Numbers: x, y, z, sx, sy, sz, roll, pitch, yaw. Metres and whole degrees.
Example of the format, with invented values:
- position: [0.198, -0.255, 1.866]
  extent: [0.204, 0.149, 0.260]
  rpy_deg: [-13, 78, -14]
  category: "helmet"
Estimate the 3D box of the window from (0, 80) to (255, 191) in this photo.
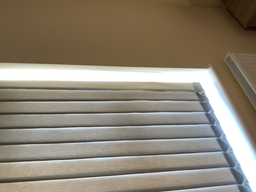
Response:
- position: [-0.070, 0.310, 0.820]
  extent: [0.020, 1.290, 0.970]
  rpy_deg: [104, 162, -49]
  category: "window"
